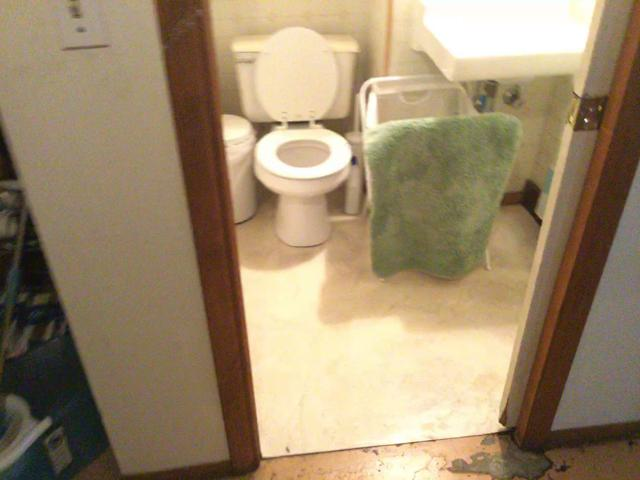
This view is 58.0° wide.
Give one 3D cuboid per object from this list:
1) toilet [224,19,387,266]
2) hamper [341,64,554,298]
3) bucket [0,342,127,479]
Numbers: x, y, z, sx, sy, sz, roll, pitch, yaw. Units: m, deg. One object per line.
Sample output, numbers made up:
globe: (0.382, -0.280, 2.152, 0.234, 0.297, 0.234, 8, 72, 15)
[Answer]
toilet: (-0.060, -0.400, 2.290, 0.520, 0.740, 0.610, -6, 34, -4)
hamper: (0.410, -0.230, 2.130, 0.580, 0.640, 0.520, -6, 34, -4)
bucket: (-0.740, 0.510, 1.430, 0.390, 0.280, 0.380, -6, 34, -4)
